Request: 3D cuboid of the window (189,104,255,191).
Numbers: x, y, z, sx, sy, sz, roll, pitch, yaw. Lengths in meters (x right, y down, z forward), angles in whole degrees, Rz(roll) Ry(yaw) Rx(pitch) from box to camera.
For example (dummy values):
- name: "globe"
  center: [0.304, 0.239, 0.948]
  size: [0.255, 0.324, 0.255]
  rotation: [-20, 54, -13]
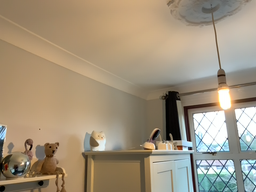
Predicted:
- name: "window"
  center: [1.110, 0.780, 2.110]
  size: [0.870, 1.360, 0.040]
  rotation: [-11, -18, 32]
